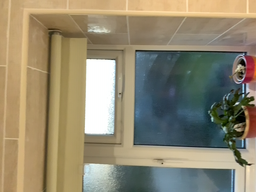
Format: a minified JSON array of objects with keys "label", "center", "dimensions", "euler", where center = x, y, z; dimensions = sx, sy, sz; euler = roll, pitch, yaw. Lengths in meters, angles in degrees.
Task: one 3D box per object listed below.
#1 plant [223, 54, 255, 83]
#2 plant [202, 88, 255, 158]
[{"label":"plant","center":[0.590,-0.130,1.060],"dimensions":[0.200,0.140,0.130],"euler":[-74,-14,-85]},{"label":"plant","center":[0.530,0.120,1.040],"dimensions":[0.210,0.250,0.300],"euler":[-72,-16,-86]}]
